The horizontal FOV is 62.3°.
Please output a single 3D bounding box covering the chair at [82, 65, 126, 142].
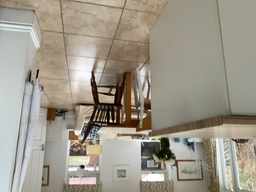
[{"bbox_3d":[-0.340,0.140,2.900,0.520,0.940,0.520,3,166,-12],"label":"chair"}]
